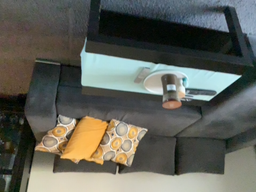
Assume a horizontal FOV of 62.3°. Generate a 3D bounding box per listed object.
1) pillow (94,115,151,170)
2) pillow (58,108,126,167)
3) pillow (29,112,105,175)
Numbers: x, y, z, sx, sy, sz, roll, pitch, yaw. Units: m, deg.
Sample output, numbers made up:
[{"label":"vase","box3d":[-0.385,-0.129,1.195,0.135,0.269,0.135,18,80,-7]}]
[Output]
[{"label":"pillow","box3d":[-0.050,0.460,2.220,0.460,0.440,0.140,-8,152,-49]},{"label":"pillow","box3d":[-0.360,0.400,2.140,0.490,0.400,0.290,-8,152,-47]},{"label":"pillow","box3d":[-0.600,0.450,2.150,0.280,0.420,0.570,-42,160,31]}]
